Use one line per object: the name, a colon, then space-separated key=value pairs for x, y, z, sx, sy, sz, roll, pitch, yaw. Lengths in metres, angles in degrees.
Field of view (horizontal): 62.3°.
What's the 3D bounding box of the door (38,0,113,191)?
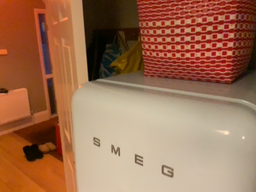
door: x=-0.390 y=0.240 z=1.450 sx=0.150 sy=2.160 sz=1.230 roll=-8 pitch=17 yaw=-23
